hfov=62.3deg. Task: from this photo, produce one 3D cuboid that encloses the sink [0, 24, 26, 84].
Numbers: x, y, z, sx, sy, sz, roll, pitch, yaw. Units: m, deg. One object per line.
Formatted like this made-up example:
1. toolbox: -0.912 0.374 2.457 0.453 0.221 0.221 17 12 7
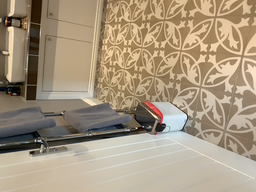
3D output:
1. sink: -1.250 -0.460 2.280 0.440 0.160 0.580 24 108 50
